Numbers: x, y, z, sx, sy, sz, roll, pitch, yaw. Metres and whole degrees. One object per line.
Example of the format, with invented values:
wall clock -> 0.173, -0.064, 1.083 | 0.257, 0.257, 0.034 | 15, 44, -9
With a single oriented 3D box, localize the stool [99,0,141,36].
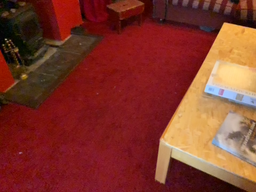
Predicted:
stool -> -0.100, -1.060, 2.820 | 0.430, 0.300, 0.320 | -27, 49, -26
